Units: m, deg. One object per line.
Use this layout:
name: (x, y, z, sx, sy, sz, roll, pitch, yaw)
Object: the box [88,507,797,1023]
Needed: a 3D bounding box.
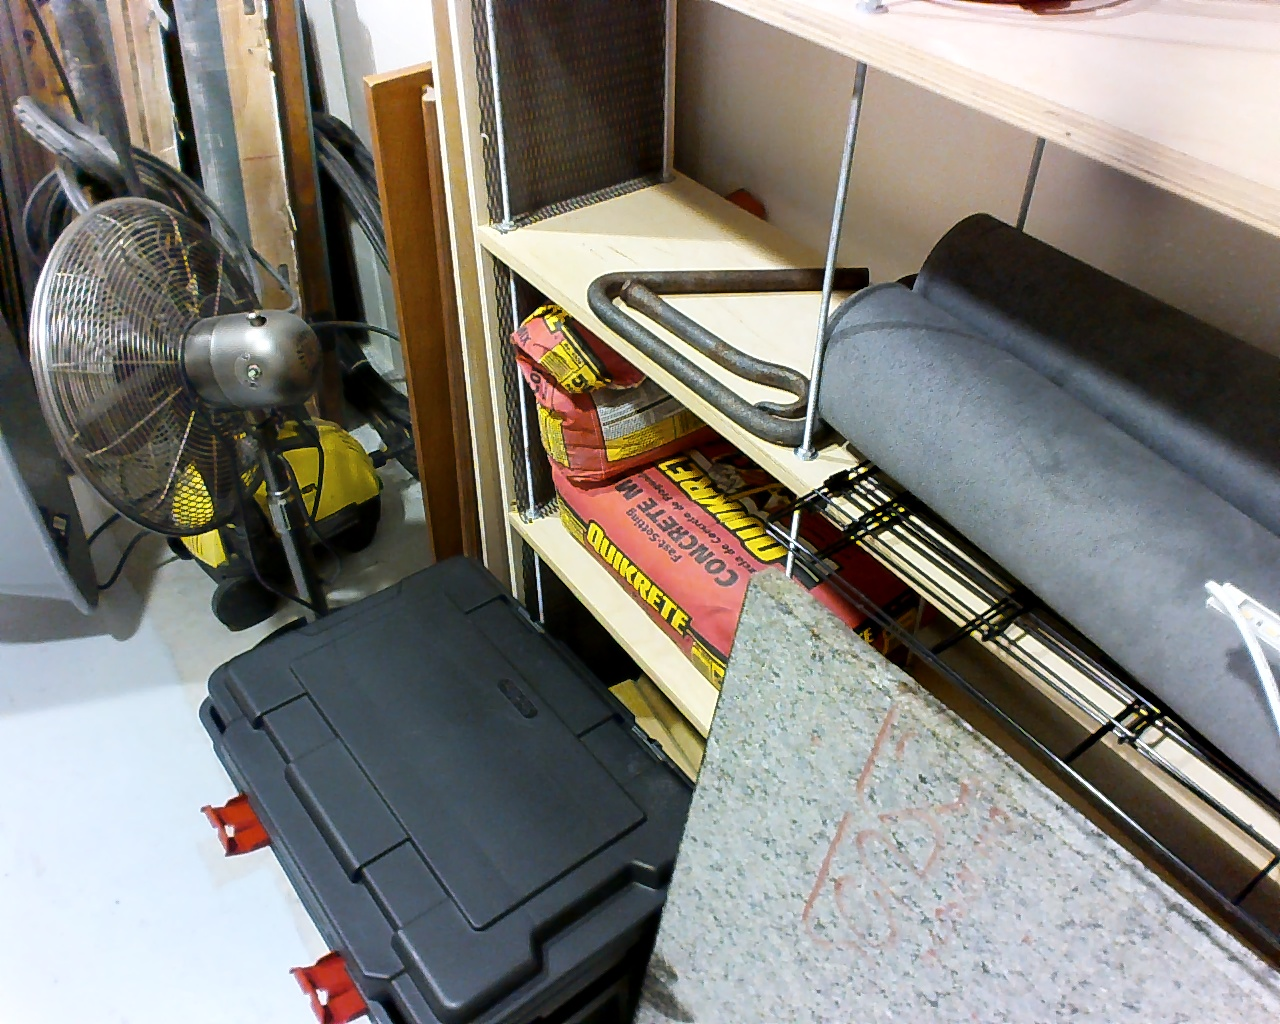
box: (-0.260, 0.450, 1.360, 0.520, 0.430, 0.730, -26, 47, -26)
